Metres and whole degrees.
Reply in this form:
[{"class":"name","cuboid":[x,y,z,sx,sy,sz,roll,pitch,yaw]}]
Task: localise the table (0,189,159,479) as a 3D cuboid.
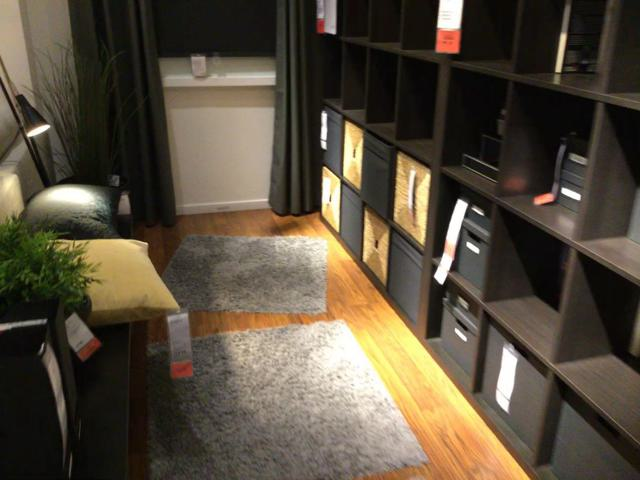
[{"class":"table","cuboid":[-0.750,0.340,1.790,0.400,0.510,1.720,-2,22,-18]}]
